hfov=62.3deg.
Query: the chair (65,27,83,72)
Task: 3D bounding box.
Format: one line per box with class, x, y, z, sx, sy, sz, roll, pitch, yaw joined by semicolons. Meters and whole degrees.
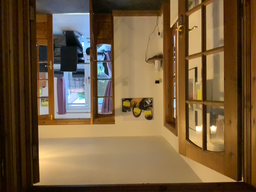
chair;-1.340;-1.120;5.270;0.380;0.990;0.530;-1;-179;-10
